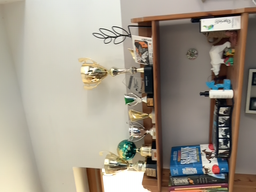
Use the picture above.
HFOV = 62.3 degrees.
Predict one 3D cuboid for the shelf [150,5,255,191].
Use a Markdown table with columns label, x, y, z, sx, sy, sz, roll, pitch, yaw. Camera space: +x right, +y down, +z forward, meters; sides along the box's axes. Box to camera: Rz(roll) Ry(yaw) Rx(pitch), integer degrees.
| label | x | y | z | sx | sy | sz | roll | pitch | yaw |
| --- | --- | --- | --- | --- | --- | --- | --- | --- | --- |
| shelf | 0.690 | 0.060 | 1.070 | 0.140 | 1.110 | 0.970 | -59 | -33 | -68 |
